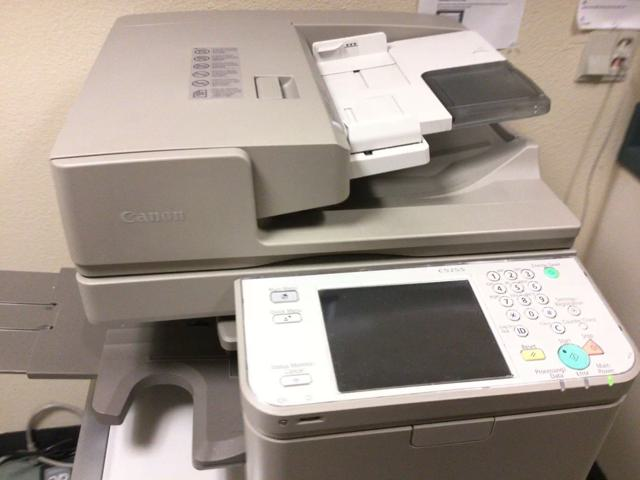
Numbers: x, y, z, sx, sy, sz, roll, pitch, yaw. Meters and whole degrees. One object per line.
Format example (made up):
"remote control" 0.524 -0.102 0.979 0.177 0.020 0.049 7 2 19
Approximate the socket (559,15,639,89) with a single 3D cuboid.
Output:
"socket" 0.580 -0.380 1.170 0.160 0.140 0.020 -4 33 -9
